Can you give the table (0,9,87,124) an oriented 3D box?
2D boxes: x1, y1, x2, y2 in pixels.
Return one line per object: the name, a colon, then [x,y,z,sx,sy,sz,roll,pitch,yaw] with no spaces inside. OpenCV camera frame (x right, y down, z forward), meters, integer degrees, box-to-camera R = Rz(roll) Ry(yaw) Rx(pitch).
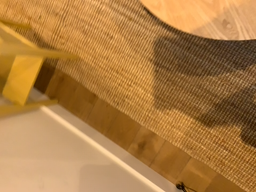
table: [-0.600,-0.160,0.900,0.460,0.700,0.340,32,104,12]
